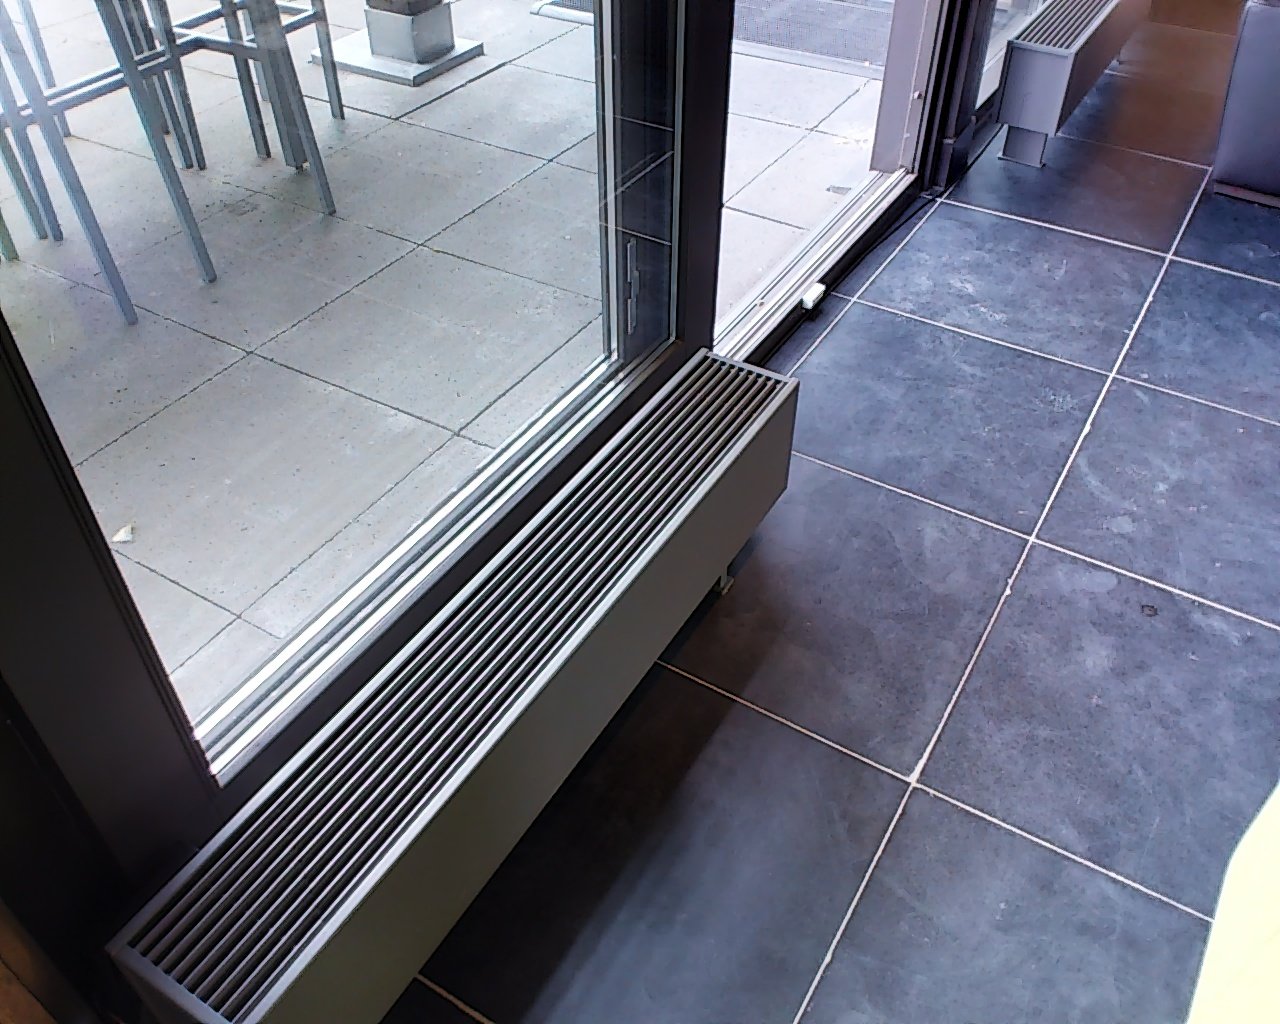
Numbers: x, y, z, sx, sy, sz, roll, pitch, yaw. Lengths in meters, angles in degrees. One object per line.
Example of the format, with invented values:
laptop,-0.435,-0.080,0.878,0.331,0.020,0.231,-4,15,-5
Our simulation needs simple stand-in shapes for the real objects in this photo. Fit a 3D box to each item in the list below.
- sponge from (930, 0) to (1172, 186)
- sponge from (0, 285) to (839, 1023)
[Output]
sponge,1.350,-1.510,3.350,0.360,0.410,1.340,23,47,23
sponge,-0.180,0.190,1.510,0.370,0.390,1.300,23,47,23
